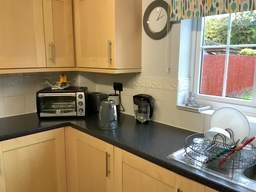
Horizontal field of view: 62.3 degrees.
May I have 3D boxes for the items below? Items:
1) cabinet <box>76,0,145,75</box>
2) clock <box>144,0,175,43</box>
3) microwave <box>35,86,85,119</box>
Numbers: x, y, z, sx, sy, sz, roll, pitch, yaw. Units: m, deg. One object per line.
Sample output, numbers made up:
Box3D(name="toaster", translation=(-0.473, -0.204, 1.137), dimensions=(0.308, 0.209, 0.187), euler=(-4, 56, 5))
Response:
Box3D(name="cabinet", translation=(-0.180, -0.630, 2.040), dimensions=(0.330, 0.810, 0.620), euler=(-9, 13, -43))
Box3D(name="clock", translation=(0.260, -0.640, 1.810), dimensions=(0.020, 0.340, 0.310), euler=(-10, 14, -44))
Box3D(name="microwave", translation=(-0.670, 0.050, 2.190), dimensions=(0.410, 0.260, 0.420), euler=(-1, 10, -7))
